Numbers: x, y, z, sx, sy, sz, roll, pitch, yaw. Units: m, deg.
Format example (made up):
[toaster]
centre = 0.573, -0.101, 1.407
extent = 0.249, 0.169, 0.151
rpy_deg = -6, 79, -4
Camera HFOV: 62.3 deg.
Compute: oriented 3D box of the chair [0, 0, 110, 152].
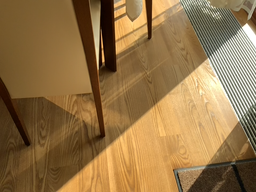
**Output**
[chair]
centre = -0.320, -0.270, 0.800
extent = 0.440, 1.030, 0.580
rpy_deg = -5, 57, -8
